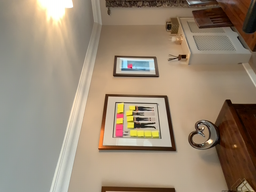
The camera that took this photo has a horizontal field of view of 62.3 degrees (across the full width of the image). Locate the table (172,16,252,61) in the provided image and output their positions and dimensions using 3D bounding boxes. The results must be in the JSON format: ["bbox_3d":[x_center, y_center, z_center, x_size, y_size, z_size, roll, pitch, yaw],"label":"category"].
[{"bbox_3d":[1.290,-0.990,3.480,1.230,0.940,0.120,-90,-1,-45],"label":"table"}]
